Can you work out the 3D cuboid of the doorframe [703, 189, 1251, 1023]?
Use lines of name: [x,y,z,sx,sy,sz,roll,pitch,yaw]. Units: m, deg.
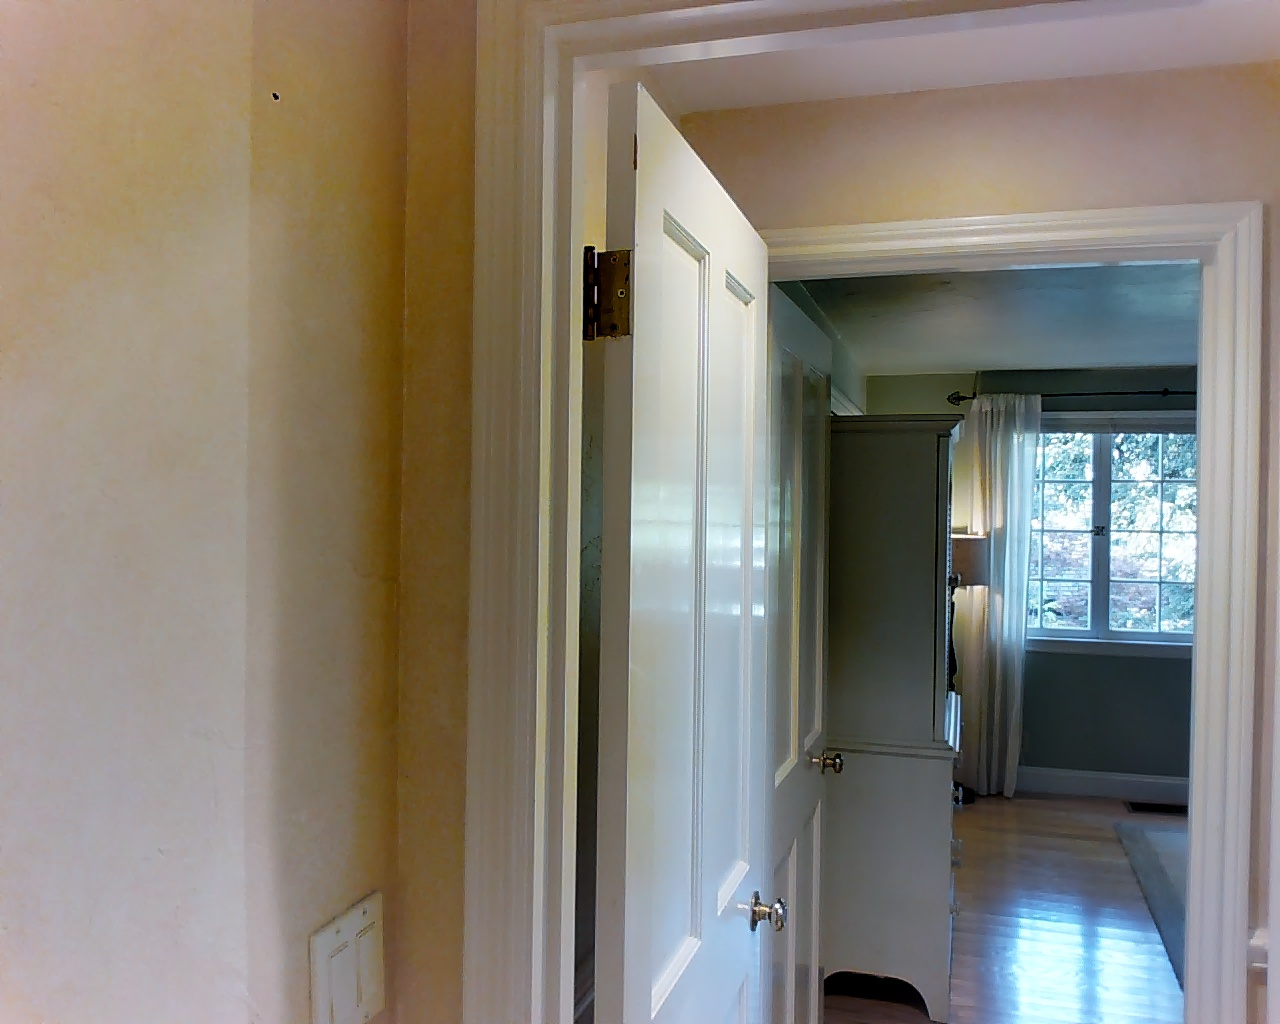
doorframe: [0.590,0.520,2.010,0.910,2.110,0.220,1,0,17]
